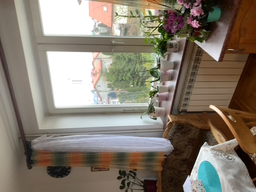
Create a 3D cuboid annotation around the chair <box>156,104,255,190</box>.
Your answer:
[{"bbox_3d":[0.870,0.590,2.510,0.560,0.830,0.810,-104,16,-54],"label":"chair"}]

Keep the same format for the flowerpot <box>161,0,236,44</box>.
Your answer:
[{"bbox_3d":[0.460,-0.610,1.510,0.480,0.290,0.290,-102,15,-52],"label":"flowerpot"}]

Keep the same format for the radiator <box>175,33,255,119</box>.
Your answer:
[{"bbox_3d":[0.970,-0.180,2.380,0.200,0.650,0.970,-103,15,-53],"label":"radiator"}]

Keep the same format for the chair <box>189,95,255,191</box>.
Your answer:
[{"bbox_3d":[0.990,0.320,1.510,0.430,0.890,0.500,-104,16,-54],"label":"chair"}]
